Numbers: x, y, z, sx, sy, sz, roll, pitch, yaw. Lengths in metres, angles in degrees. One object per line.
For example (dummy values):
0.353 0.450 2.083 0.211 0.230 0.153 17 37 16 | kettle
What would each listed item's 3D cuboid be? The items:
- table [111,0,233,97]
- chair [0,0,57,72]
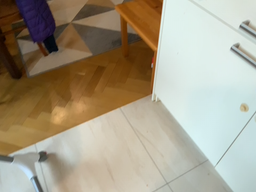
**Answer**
0.280 -0.460 1.650 0.600 0.490 0.600 -22 53 -17 | table
-0.950 -0.700 1.570 0.500 0.870 0.430 -24 54 -18 | chair
